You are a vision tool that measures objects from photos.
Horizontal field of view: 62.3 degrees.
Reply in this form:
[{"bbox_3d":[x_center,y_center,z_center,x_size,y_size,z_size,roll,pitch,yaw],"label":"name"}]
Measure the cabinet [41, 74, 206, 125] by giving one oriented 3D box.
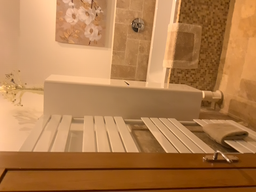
[{"bbox_3d":[-0.030,0.030,2.010,0.390,1.410,0.320,-133,47,-74],"label":"cabinet"}]
